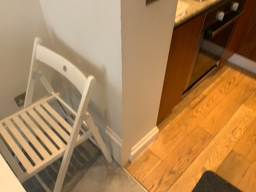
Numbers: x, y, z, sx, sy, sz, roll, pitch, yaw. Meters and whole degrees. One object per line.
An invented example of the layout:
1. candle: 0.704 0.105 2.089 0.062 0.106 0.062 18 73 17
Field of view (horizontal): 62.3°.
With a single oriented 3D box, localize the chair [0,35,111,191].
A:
1. chair: -0.440 0.190 1.120 0.480 0.750 0.470 -34 56 -29
